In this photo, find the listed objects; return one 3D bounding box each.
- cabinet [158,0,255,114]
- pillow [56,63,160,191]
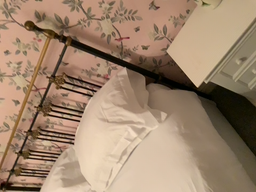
[{"bbox_3d":[0.670,-0.340,1.170,0.660,0.640,0.430,-55,35,28],"label":"cabinet"},{"bbox_3d":[-0.180,0.240,1.300,0.760,0.250,0.370,-56,35,27],"label":"pillow"}]
